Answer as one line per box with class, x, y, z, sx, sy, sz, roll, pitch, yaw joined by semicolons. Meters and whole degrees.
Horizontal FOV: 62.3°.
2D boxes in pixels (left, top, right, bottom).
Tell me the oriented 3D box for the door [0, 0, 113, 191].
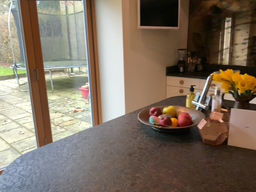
door;-1.170;-0.200;2.030;2.410;2.210;0.220;-15;20;-43
